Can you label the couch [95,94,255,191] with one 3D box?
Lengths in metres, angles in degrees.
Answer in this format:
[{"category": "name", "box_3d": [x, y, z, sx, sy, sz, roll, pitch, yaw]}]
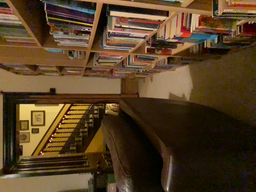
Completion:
[{"category": "couch", "box_3d": [0.310, 0.620, 1.400, 1.140, 0.940, 1.080, -144, 56, -73]}]
